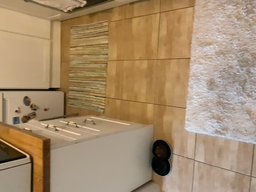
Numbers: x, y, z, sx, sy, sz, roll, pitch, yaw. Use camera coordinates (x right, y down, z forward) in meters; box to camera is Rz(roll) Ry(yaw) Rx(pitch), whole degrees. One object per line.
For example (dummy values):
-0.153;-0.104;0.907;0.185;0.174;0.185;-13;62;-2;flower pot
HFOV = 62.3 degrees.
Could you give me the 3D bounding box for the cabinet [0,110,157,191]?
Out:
-0.320;0.400;1.440;0.600;0.910;0.460;8;97;39;cabinet
